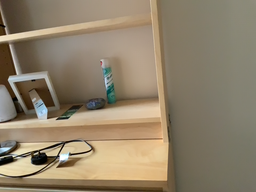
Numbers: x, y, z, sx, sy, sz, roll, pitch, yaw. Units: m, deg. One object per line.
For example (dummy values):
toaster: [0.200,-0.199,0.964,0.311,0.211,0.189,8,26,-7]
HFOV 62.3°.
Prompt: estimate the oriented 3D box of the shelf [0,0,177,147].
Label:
shelf: [-0.280,-0.350,0.830,0.830,1.050,0.280,-5,16,12]
